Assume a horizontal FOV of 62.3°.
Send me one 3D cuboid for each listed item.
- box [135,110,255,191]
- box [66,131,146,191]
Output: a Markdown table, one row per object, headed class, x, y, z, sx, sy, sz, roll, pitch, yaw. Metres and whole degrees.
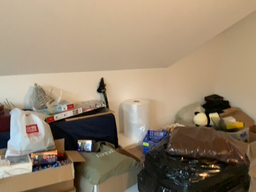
| class | x | y | z | sx | sy | sz | roll | pitch | yaw |
| --- | --- | --- | --- | --- | --- | --- | --- | --- | --- |
| box | 0.640 | 0.710 | 2.030 | 0.730 | 0.850 | 0.920 | -7 | 15 | -31 |
| box | -0.260 | 0.820 | 2.280 | 0.610 | 0.570 | 0.680 | -7 | 15 | -30 |
